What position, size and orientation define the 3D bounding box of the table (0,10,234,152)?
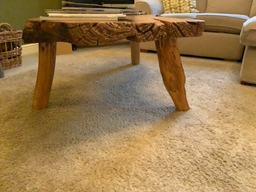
[{"bbox_3d":[-0.160,-0.290,1.380,0.830,0.480,1.300,-5,24,-12],"label":"table"}]
